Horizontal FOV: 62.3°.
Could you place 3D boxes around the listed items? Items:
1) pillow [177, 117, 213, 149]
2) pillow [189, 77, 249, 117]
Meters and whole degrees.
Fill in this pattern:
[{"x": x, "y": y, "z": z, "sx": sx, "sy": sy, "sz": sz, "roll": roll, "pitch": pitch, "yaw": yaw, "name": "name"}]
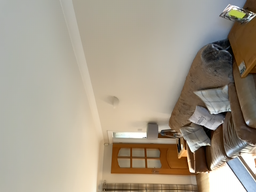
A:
[{"x": 1.030, "y": 0.590, "z": 3.330, "sx": 0.390, "sy": 0.390, "sz": 0.370, "roll": 93, "pitch": 178, "yaw": -58, "name": "pillow"}, {"x": 1.060, "y": 0.030, "z": 2.520, "sx": 0.440, "sy": 0.440, "sz": 0.190, "roll": 127, "pitch": 151, "yaw": -52, "name": "pillow"}]
